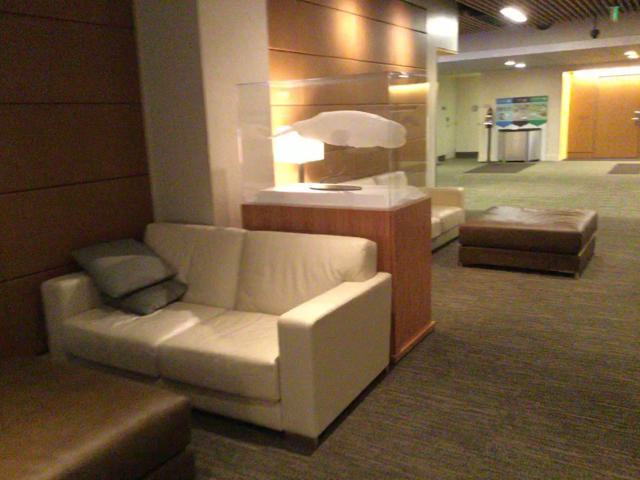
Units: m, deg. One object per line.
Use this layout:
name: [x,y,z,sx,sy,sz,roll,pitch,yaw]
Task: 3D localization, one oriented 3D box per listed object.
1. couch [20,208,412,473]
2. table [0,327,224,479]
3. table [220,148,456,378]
couch: [-0.510,0.380,3.030,1.630,0.850,1.030,0,14,31]
table: [-1.090,0.790,1.970,1.000,0.550,1.050,0,14,31]
table: [0.140,0.080,3.520,1.100,1.120,0.750,1,16,31]
